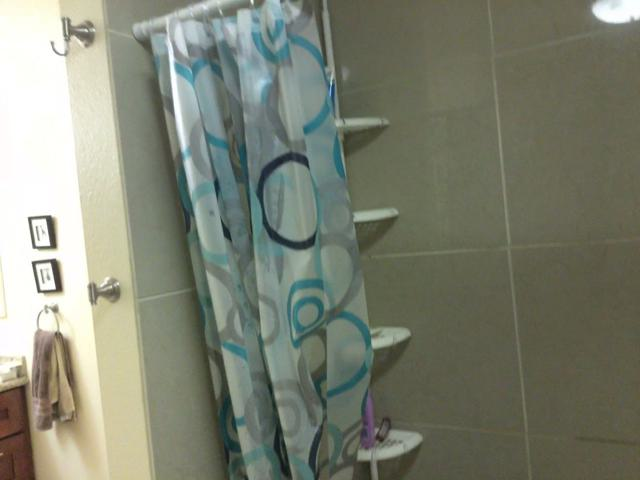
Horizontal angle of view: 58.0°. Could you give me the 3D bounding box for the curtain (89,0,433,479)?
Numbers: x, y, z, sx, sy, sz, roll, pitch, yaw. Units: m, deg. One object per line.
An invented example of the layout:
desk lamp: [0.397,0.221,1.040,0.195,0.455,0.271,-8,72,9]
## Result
curtain: [-0.050,0.420,1.150,0.380,1.730,0.480,-5,1,31]
